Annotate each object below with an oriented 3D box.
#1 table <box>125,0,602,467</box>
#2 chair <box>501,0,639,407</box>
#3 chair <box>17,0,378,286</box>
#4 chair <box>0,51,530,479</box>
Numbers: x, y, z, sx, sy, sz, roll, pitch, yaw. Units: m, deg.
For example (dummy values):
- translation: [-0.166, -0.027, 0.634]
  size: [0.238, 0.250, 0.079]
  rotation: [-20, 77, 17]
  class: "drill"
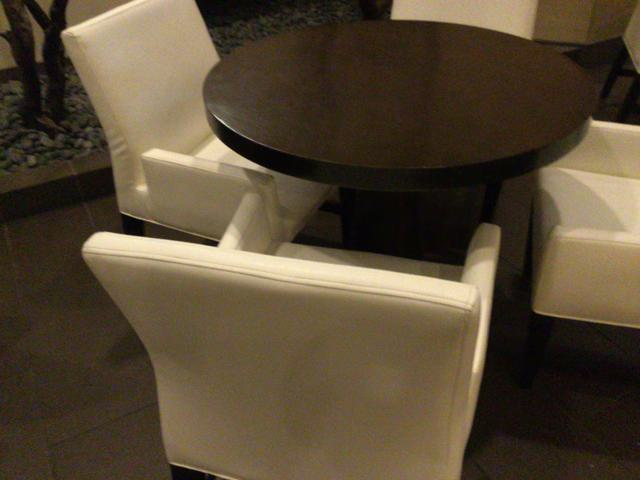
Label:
- translation: [0.220, -0.110, 1.610]
  size: [0.890, 0.820, 0.910]
  rotation: [8, 42, 20]
  class: "table"
- translation: [0.880, -0.090, 1.390]
  size: [0.720, 0.770, 0.660]
  rotation: [8, 42, 20]
  class: "chair"
- translation: [-0.260, -0.370, 1.690]
  size: [0.670, 0.640, 0.650]
  rotation: [8, 42, 20]
  class: "chair"
- translation: [-0.040, 0.190, 1.150]
  size: [0.720, 0.870, 0.680]
  rotation: [8, 42, 20]
  class: "chair"
